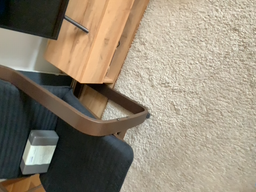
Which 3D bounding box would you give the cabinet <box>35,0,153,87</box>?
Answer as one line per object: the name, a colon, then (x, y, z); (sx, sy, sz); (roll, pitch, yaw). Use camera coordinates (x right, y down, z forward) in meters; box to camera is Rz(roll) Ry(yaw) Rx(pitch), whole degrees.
cabinet: (0.000, -0.790, 1.040); (0.370, 0.320, 1.490); (33, 108, 26)
